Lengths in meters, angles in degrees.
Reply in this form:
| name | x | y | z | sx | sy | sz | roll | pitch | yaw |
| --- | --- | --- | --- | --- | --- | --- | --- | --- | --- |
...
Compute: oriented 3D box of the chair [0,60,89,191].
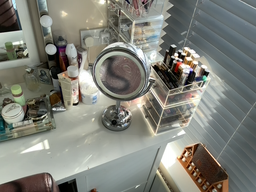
| name | x | y | z | sx | sy | sz | roll | pitch | yaw |
| --- | --- | --- | --- | --- | --- | --- | --- | --- | --- |
| chair | -0.450 | 0.440 | 0.910 | 0.460 | 1.020 | 0.490 | -12 | 47 | -20 |
